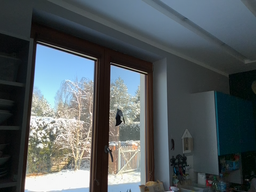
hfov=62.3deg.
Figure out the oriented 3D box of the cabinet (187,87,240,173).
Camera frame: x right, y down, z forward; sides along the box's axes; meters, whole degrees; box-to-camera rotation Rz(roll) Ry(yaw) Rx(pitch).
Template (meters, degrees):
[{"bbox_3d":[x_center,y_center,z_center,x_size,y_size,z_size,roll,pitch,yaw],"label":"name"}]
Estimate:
[{"bbox_3d":[1.070,0.410,2.650,0.610,0.930,0.340,9,-13,-43],"label":"cabinet"}]
